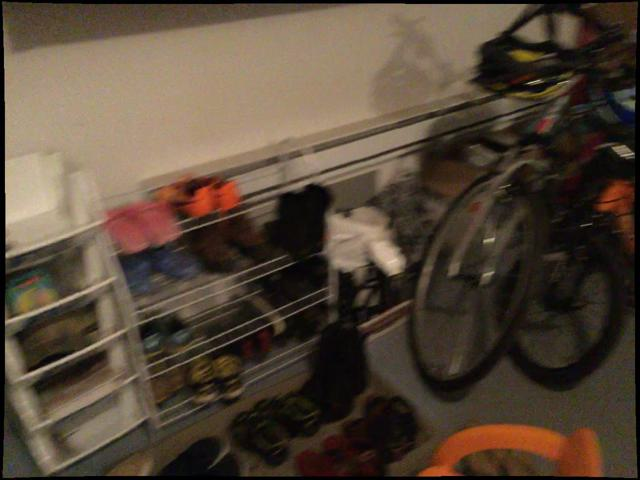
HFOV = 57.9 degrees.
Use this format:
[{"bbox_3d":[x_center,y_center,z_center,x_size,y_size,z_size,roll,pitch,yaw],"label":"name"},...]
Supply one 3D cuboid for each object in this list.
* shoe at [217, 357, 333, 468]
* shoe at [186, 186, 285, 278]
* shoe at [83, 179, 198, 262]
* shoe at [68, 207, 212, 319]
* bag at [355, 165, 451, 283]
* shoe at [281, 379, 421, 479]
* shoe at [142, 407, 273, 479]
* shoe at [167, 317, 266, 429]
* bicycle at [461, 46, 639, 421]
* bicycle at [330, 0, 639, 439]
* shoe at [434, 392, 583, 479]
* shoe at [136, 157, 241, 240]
[{"bbox_3d":[-0.130,0.490,1.680,0.250,0.090,0.220,25,41,36],"label":"shoe"},{"bbox_3d":[-0.250,-0.030,1.720,0.210,0.150,0.190,-23,38,-29],"label":"shoe"},{"bbox_3d":[-0.470,-0.060,1.510,0.210,0.070,0.230,-23,38,-29],"label":"shoe"},{"bbox_3d":[-0.509,0.050,1.630,0.280,0.090,0.320,-23,38,-29],"label":"shoe"},{"bbox_3d":[0.320,-0.070,2.280,0.290,0.330,0.220,-23,38,-29],"label":"bag"},{"bbox_3d":[0.080,0.551,1.550,0.260,0.120,0.260,-23,38,-29],"label":"shoe"},{"bbox_3d":[-0.300,0.601,1.540,0.260,0.070,0.230,-23,38,-29],"label":"shoe"},{"bbox_3d":[-0.320,0.400,1.780,0.180,0.150,0.270,-23,38,-29],"label":"shoe"},{"bbox_3d":[1.159,-0.160,1.960,1.349,0.861,0.470,-23,38,-29],"label":"bicycle"},{"bbox_3d":[0.889,-0.280,1.990,1.609,1.021,0.670,-23,38,-29],"label":"bicycle"},{"bbox_3d":[0.499,0.571,1.560,0.220,0.050,0.310,-23,38,-29],"label":"shoe"},{"bbox_3d":[-0.360,-0.120,1.590,0.210,0.110,0.180,-23,38,-29],"label":"shoe"}]
